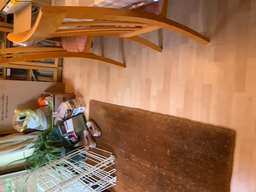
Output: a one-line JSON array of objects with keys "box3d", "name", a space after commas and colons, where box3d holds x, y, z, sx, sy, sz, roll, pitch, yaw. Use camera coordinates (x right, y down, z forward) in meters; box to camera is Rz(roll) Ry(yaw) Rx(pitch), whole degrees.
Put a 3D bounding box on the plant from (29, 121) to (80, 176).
[{"box3d": [-0.870, 0.580, 2.490, 0.450, 0.420, 0.450, 8, 97, 48], "name": "plant"}]
